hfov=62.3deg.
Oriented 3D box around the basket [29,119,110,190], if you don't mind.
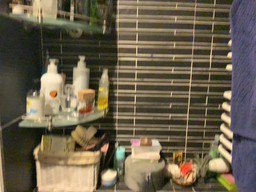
[{"bbox_3d":[-0.210,0.220,0.830,0.270,0.220,0.160,1,10,-3],"label":"basket"}]
